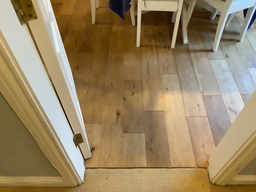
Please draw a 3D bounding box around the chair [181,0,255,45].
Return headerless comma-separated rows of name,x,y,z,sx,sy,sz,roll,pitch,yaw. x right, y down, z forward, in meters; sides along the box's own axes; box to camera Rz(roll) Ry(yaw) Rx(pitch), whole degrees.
chair,0.820,-0.930,1.820,0.380,0.770,0.450,-23,55,-17
